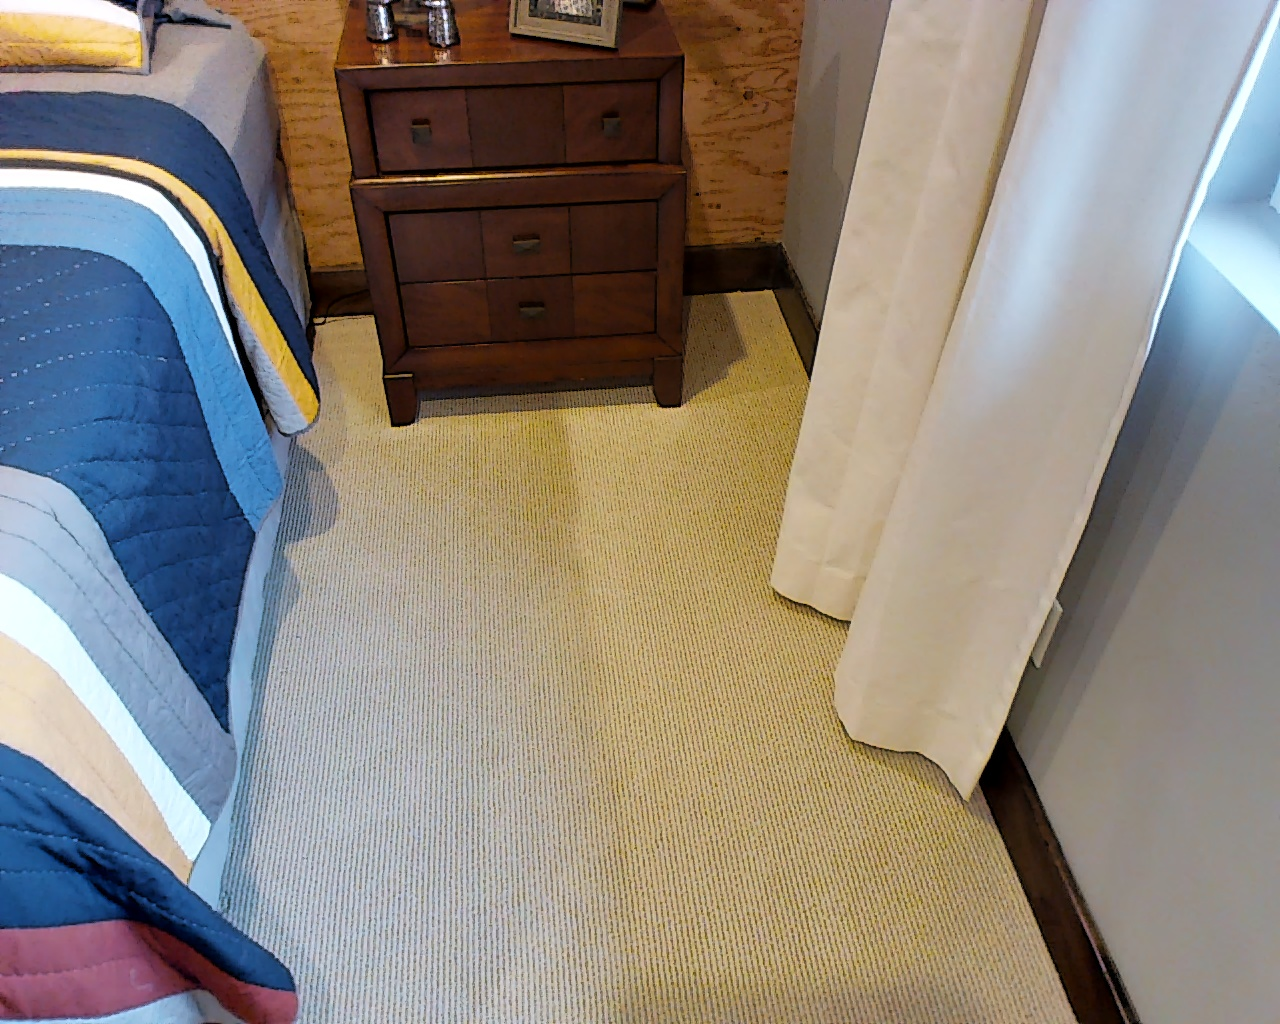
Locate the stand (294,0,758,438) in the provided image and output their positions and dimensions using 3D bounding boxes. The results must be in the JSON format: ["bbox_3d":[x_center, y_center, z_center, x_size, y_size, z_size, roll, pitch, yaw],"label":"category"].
[{"bbox_3d":[-0.220,-0.640,2.240,0.780,0.770,0.490,-5,42,-6],"label":"stand"}]
